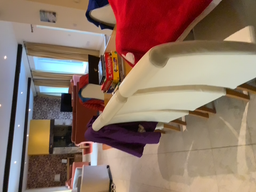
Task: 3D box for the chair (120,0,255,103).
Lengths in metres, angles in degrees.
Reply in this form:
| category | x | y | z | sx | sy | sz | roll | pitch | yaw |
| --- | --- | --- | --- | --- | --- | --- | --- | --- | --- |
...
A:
| category | x | y | z | sx | sy | sz | roll | pitch | yaw |
| --- | --- | --- | --- | --- | --- | --- | --- | --- | --- |
| chair | 0.520 | -0.290 | 1.280 | 0.470 | 1.030 | 0.510 | 137 | 133 | -64 |

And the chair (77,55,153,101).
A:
| category | x | y | z | sx | sy | sz | roll | pitch | yaw |
| --- | --- | --- | --- | --- | --- | --- | --- | --- | --- |
| chair | -0.230 | -0.250 | 3.380 | 0.520 | 1.080 | 0.500 | 137 | 133 | -64 |

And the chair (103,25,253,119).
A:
| category | x | y | z | sx | sy | sz | roll | pitch | yaw |
| --- | --- | --- | --- | --- | --- | --- | --- | --- | --- |
| chair | 0.360 | -0.130 | 1.720 | 0.480 | 1.030 | 0.520 | 137 | 133 | -64 |
